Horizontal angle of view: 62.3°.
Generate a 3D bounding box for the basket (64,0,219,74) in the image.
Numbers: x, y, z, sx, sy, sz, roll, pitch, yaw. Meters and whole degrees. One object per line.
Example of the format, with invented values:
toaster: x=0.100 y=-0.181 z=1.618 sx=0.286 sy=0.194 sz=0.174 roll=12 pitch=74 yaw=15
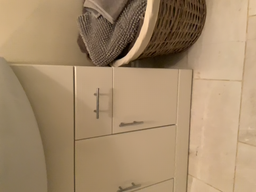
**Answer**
basket: x=0.040 y=-0.390 z=0.960 sx=0.470 sy=0.520 sz=0.550 roll=13 pitch=104 yaw=56
